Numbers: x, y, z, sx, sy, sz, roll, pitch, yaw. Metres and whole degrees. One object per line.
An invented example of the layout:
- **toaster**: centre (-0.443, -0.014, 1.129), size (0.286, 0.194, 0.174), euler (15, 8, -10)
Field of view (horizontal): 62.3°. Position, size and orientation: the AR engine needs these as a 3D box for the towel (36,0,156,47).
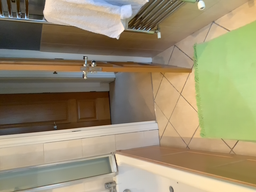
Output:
- **towel**: centre (-0.200, -0.440, 1.160), size (0.430, 0.540, 0.150), euler (158, 108, -63)
